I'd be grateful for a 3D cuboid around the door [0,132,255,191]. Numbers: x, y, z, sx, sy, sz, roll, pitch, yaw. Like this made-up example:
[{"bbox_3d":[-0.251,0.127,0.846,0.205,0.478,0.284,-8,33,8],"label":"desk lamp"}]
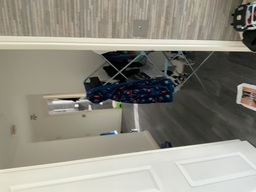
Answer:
[{"bbox_3d":[0.210,0.620,1.320,0.960,2.070,0.080,-124,34,-61],"label":"door"}]
